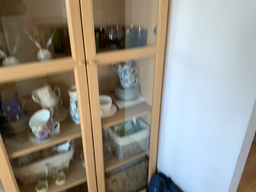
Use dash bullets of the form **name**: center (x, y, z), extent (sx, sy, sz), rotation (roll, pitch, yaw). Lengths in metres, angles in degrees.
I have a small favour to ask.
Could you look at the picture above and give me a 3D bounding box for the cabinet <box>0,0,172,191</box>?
- **cabinet**: center (-0.240, -0.130, 0.950), extent (0.820, 2.020, 0.290), rotation (-15, 30, -27)
